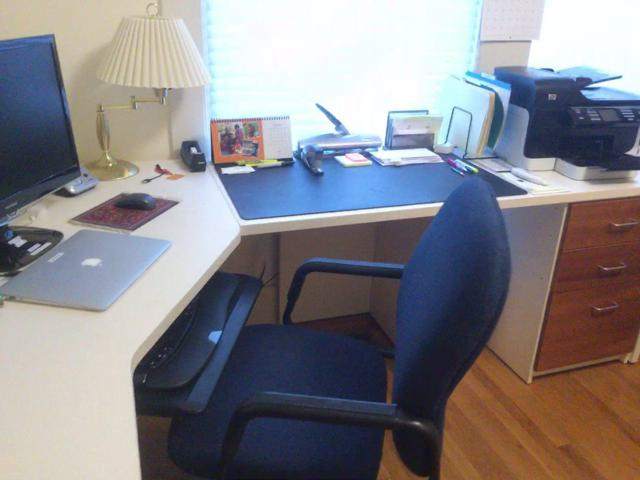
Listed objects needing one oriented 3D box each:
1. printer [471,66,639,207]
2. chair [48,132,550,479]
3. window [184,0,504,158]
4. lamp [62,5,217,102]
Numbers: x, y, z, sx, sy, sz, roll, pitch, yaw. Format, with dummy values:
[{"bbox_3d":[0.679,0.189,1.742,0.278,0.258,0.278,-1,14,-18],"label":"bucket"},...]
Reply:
[{"bbox_3d":[0.900,-0.380,1.980,0.510,0.350,0.500,-5,25,-18],"label":"printer"},{"bbox_3d":[-0.010,0.340,1.240,0.660,0.950,0.680,7,24,8],"label":"chair"},{"bbox_3d":[0.120,-1.020,1.810,1.080,1.490,0.120,-5,25,-18],"label":"window"},{"bbox_3d":[-0.520,-0.550,1.680,0.370,0.220,0.390,-5,25,-18],"label":"lamp"}]
